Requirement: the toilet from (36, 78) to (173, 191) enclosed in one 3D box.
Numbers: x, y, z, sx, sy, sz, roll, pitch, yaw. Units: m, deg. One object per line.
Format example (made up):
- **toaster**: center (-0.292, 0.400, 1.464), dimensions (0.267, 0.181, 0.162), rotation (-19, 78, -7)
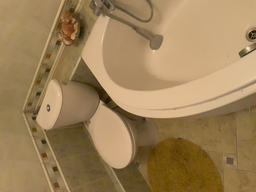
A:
- **toilet**: center (-0.170, 0.230, 1.610), dimensions (0.630, 0.750, 0.370), rotation (52, 123, 30)
